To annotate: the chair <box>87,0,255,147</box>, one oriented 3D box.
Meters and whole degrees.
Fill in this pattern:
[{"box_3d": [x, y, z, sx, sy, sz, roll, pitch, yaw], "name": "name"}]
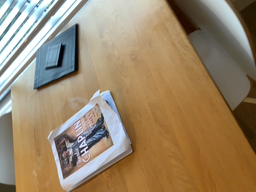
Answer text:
[{"box_3d": [0.290, -0.060, 1.050, 0.450, 0.780, 0.460, -35, 59, 26], "name": "chair"}]
